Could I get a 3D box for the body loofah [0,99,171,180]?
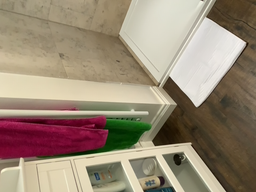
[{"bbox_3d":[-0.290,0.250,1.290,0.380,1.140,0.200,-62,41,31],"label":"body loofah"}]
